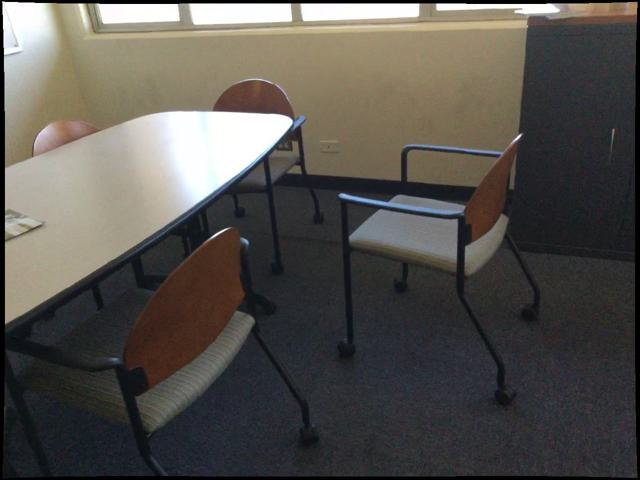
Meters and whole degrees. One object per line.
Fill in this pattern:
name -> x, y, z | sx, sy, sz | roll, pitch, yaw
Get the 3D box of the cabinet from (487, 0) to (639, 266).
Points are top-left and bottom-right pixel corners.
cabinet -> 1.267, -0.521, 2.480 | 0.928, 1.092, 0.560 | 7, 30, 24

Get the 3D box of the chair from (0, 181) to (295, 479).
chair -> -0.469, 0.321, 1.590 | 0.519, 0.762, 0.580 | 7, 30, 23

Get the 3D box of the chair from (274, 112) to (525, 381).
chair -> 0.309, -0.020, 2.070 | 0.699, 0.721, 0.530 | 7, 30, 24
